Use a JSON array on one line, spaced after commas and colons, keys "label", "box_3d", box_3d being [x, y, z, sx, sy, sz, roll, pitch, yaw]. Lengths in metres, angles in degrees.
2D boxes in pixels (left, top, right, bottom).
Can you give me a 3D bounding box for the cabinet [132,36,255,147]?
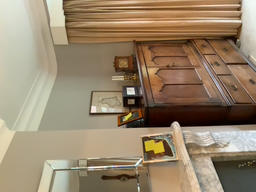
[{"label": "cabinet", "box_3d": [0.810, -0.160, 2.550, 1.400, 1.390, 0.540, -96, 5, -50]}]
